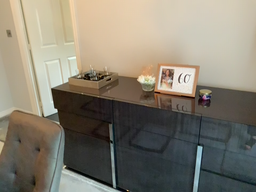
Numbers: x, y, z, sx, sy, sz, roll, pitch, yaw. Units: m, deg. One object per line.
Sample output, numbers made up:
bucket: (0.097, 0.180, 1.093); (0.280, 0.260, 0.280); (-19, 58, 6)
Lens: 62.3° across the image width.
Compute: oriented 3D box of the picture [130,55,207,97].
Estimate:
picture: (0.310, -0.170, 1.590); (0.480, 0.180, 0.350); (9, 24, 24)

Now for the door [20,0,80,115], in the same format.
door: (-1.010, -0.720, 2.840); (0.030, 1.930, 0.640); (19, 29, 40)
